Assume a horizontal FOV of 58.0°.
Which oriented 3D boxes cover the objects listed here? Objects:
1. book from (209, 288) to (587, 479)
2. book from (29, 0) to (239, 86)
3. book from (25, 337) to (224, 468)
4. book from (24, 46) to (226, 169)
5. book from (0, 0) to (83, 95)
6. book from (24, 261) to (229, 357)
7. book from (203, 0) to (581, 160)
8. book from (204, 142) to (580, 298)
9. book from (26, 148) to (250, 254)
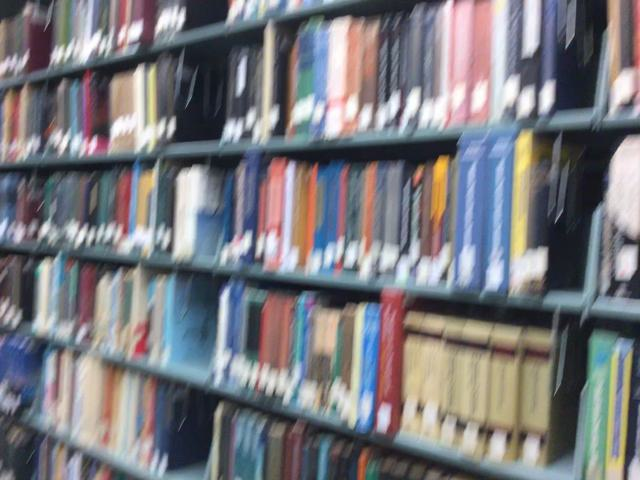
[{"bbox_3d":[0.130,0.270,1.270,0.790,0.270,0.240,1,-4,36],"label":"book"},{"bbox_3d":[-0.630,-0.720,1.900,0.780,0.270,0.210,1,-4,34],"label":"book"},{"bbox_3d":[-0.660,0.500,1.900,0.690,0.270,0.230,1,-4,34],"label":"book"},{"bbox_3d":[-0.670,-0.410,1.920,0.750,0.270,0.210,1,-4,35],"label":"book"},{"bbox_3d":[-1.310,-0.770,2.370,0.840,0.260,0.180,1,-4,35],"label":"book"},{"bbox_3d":[-0.660,0.210,1.920,0.730,0.240,0.230,1,-4,34],"label":"book"},{"bbox_3d":[0.120,-0.380,1.360,0.860,0.280,0.240,1,-4,37],"label":"book"},{"bbox_3d":[0.120,-0.030,1.340,0.830,0.260,0.280,1,-5,39],"label":"book"},{"bbox_3d":[-0.620,-0.110,1.870,0.850,0.270,0.210,1,-4,37],"label":"book"}]
